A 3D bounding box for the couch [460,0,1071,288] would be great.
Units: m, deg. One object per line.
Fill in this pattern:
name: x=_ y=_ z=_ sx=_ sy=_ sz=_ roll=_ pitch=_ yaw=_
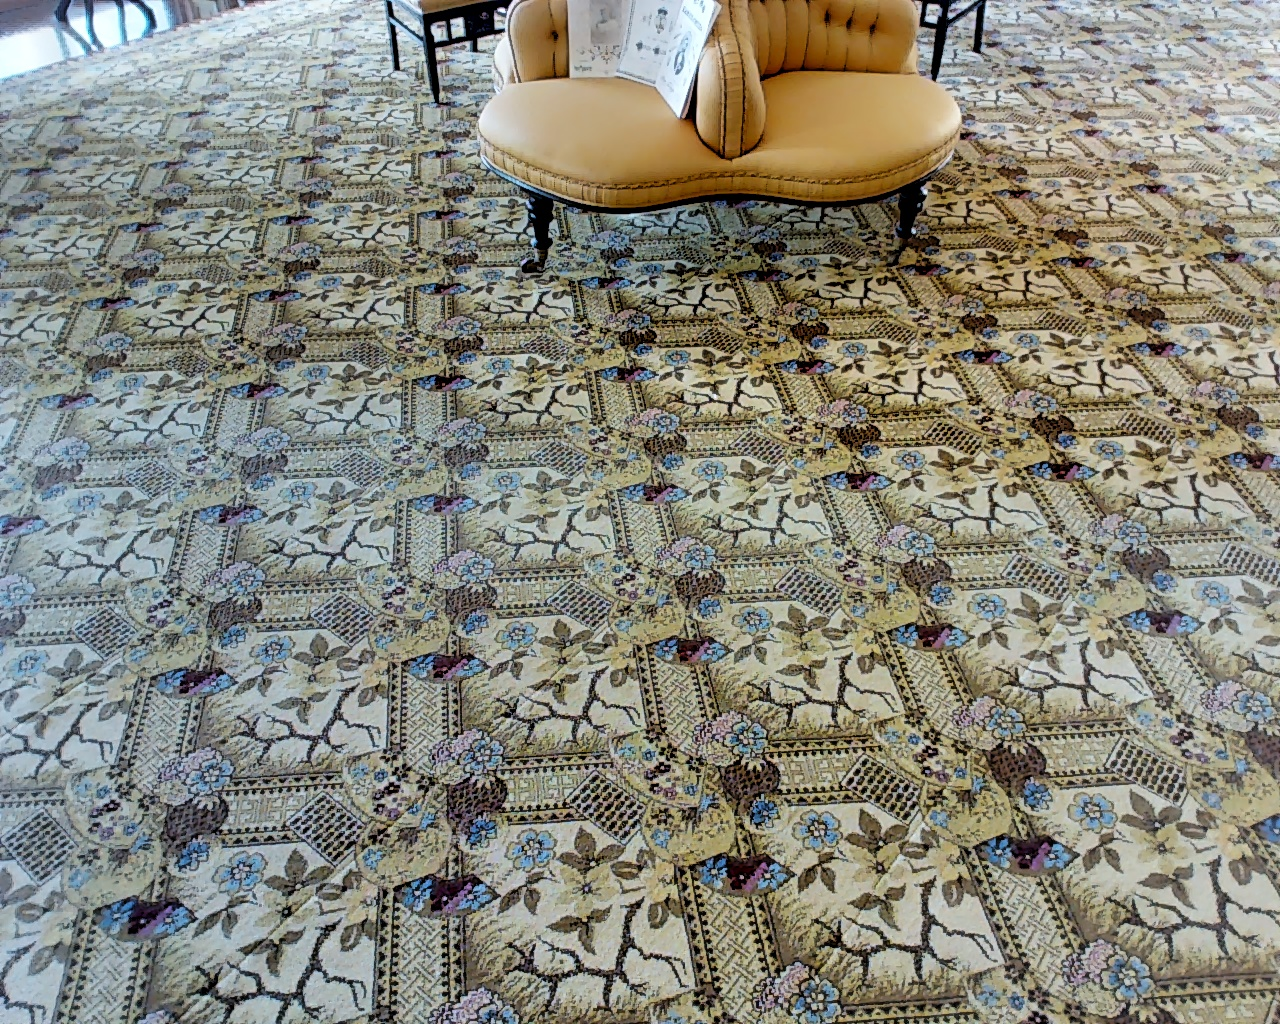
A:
couch: x=0.250 y=-1.520 z=3.320 sx=1.480 sy=0.900 sz=1.530 roll=-4 pitch=42 yaw=-4
